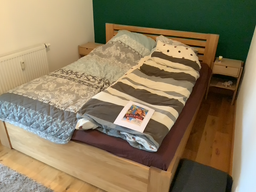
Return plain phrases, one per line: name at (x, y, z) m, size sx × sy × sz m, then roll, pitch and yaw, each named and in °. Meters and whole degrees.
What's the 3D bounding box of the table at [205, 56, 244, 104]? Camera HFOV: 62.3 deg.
table at (1.370, -0.230, 3.030) m, size 0.370 × 0.580 × 0.190 m, roll 15°, pitch 30°, yaw 22°
